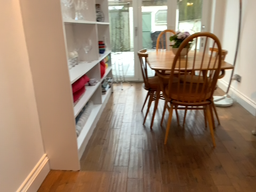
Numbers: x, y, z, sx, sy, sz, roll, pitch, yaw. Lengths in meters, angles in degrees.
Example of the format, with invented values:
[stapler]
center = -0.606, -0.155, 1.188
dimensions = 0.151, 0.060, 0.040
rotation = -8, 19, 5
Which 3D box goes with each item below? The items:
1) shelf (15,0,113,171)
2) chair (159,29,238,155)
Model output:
[shelf]
center = -0.470, -0.730, 2.310
dimensions = 0.260, 2.030, 2.140
rotation = 0, 19, 4
[chair]
center = 0.550, -0.070, 1.900
dimensions = 0.470, 0.990, 0.570
rotation = 0, 19, 4
